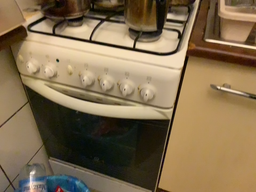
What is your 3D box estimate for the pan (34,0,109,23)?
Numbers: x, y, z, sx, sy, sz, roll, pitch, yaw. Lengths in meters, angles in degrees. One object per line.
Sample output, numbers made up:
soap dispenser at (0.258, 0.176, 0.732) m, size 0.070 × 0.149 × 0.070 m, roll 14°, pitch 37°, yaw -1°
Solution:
pan at (-0.180, -0.340, 0.690) m, size 0.160 × 0.120 × 0.190 m, roll 17°, pitch 41°, yaw 17°
